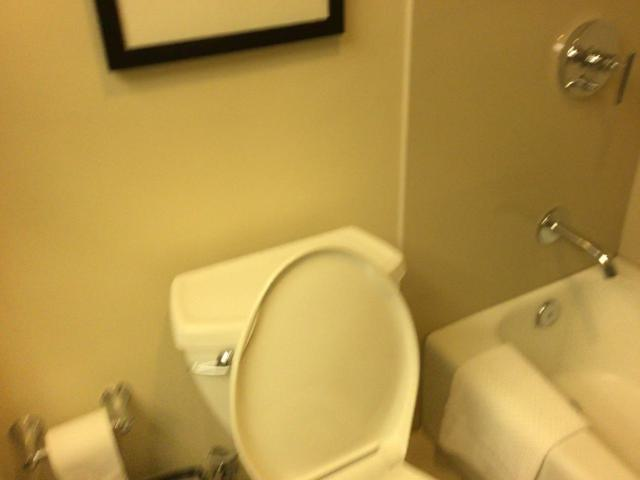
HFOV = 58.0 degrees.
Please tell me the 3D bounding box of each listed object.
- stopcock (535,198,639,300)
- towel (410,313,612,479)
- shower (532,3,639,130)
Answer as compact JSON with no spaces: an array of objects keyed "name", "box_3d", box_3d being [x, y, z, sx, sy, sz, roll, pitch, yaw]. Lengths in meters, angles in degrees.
[{"name":"stopcock","box_3d":[0.740,0.020,1.590,0.240,0.180,0.130,-18,33,-22]},{"name":"towel","box_3d":[0.440,0.470,1.440,0.230,0.360,0.410,-18,33,-21]},{"name":"shower","box_3d":[0.650,-0.410,1.360,0.310,0.230,0.060,-18,33,-22]}]
